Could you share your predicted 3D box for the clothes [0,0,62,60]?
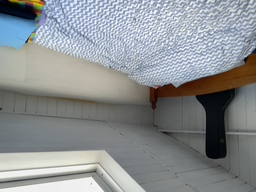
[{"bbox_3d":[-0.790,-0.440,1.300,0.520,0.190,0.570,10,168,-43],"label":"clothes"}]
